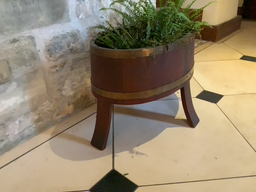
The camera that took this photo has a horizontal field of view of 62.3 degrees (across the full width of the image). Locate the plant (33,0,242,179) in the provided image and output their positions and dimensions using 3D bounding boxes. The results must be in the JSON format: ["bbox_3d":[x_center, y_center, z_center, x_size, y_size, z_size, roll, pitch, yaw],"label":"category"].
[{"bbox_3d":[0.090,-0.160,1.070,0.580,0.530,0.760,21,37,35],"label":"plant"}]
